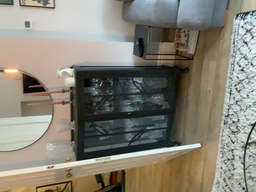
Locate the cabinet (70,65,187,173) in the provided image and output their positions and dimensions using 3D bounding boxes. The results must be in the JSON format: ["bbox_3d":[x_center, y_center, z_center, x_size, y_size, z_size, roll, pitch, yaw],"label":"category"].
[{"bbox_3d":[0.010,0.180,2.240,0.330,1.150,0.980,-153,62,-65],"label":"cabinet"}]
